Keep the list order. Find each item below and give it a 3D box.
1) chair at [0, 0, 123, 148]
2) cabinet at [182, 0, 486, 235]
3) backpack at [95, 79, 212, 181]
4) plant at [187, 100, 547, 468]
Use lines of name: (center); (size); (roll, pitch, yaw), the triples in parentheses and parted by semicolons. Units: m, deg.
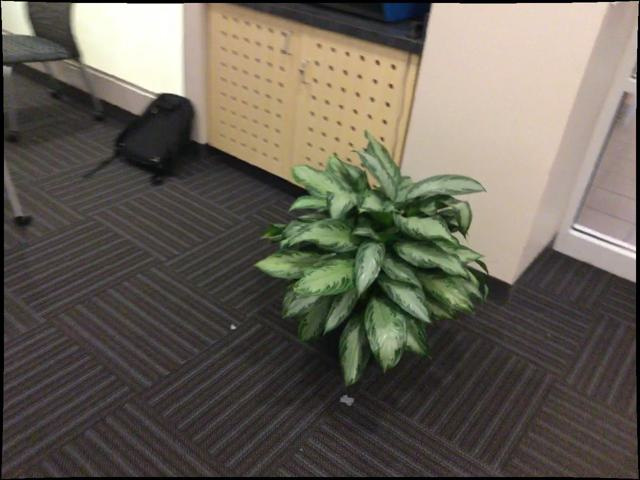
chair: (-1.666, -1.093, 3.350); (0.549, 0.791, 0.670); (26, 43, 31)
cabinet: (0.030, -0.762, 2.780); (1.189, 0.891, 0.670); (26, 43, 31)
backpack: (-0.868, -0.591, 3.040); (0.430, 0.320, 0.360); (26, 43, 31)
plant: (0.140, 0.070, 1.830); (0.749, 0.651, 0.710); (26, 43, 31)
